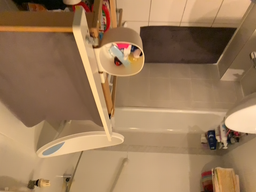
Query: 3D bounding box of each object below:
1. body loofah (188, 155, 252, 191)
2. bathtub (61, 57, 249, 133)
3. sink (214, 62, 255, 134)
[{"bbox_3d":[0.840,0.990,1.960,0.400,0.760,0.510,1,154,4],"label":"body loofah"},{"bbox_3d":[0.250,0.020,2.370,1.700,0.560,0.700,1,154,2],"label":"bathtub"},{"bbox_3d":[0.850,0.050,1.280,0.420,0.190,0.590,1,154,2],"label":"sink"}]
